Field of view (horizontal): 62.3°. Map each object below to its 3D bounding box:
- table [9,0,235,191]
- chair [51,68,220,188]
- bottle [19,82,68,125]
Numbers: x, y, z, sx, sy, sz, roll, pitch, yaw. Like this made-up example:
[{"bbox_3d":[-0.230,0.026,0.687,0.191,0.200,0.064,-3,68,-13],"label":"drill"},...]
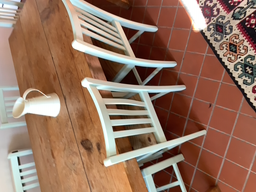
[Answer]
[{"bbox_3d":[-0.150,0.120,1.530,0.870,0.760,1.830,-36,67,37],"label":"table"},{"bbox_3d":[0.090,0.160,1.260,0.460,0.860,0.390,-36,67,38],"label":"chair"},{"bbox_3d":[-0.480,0.040,1.200,0.170,0.180,0.170,-39,65,36],"label":"bottle"}]
